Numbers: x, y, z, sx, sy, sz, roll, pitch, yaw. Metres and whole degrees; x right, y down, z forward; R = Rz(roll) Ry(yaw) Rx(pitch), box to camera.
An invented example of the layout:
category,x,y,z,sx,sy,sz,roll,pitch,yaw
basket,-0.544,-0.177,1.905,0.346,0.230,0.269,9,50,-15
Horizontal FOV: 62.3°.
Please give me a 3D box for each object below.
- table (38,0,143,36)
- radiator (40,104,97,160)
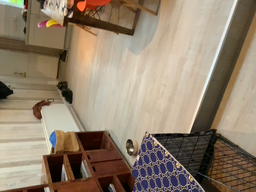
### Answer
category,x,y,z,sx,sy,sz,roll,pitch,yaw
table,-0.570,-1.430,2.630,1.810,0.760,0.960,40,122,54
radiator,-1.040,0.480,3.450,1.620,0.540,0.100,37,120,54
